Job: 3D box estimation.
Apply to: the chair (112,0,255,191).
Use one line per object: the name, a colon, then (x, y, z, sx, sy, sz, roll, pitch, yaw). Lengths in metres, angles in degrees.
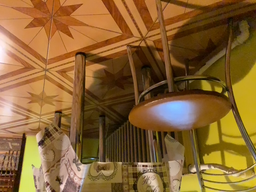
chair: (0.240, 0.060, 0.910, 0.490, 0.820, 0.390, 8, 153, -23)
